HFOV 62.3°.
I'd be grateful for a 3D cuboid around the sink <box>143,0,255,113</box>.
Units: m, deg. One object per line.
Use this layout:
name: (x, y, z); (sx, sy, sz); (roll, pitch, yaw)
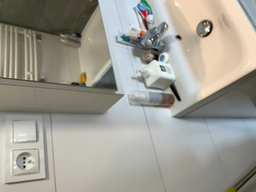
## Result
sink: (0.310, -0.290, 0.880); (0.380, 0.150, 0.620); (-40, 55, 45)
